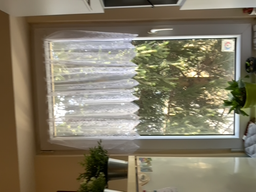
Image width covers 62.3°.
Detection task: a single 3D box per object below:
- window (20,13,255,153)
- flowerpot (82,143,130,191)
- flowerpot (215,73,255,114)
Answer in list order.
[{"bbox_3d":[0.120,-0.070,1.360,0.170,1.490,0.830,-80,-11,-84],"label":"window"},{"bbox_3d":[-0.100,0.360,1.070,0.160,0.220,0.200,-79,-12,-84],"label":"flowerpot"},{"bbox_3d":[0.700,-0.020,1.290,0.210,0.260,0.230,-64,-27,-87],"label":"flowerpot"}]
